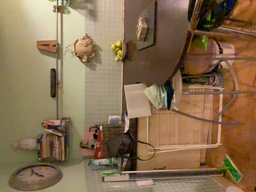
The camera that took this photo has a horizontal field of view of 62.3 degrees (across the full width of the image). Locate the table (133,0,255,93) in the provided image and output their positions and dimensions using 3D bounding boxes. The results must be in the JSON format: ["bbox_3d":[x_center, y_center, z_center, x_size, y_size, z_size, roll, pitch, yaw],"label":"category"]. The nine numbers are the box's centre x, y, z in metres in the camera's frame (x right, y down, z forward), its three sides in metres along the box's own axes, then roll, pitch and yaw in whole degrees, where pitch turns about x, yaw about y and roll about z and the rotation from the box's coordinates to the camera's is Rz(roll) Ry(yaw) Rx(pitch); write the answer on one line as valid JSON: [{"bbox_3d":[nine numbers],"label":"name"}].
[{"bbox_3d":[0.610,-0.470,1.590,0.990,0.890,0.800,-157,68,-74],"label":"table"}]
